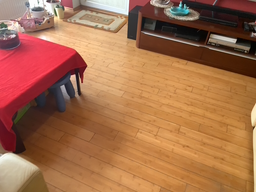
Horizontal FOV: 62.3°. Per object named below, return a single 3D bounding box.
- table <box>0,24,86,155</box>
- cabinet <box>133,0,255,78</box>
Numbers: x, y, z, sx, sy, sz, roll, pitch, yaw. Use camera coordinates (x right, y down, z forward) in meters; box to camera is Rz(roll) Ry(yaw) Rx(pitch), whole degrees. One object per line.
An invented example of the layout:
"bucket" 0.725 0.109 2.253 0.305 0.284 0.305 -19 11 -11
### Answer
"table" -0.940 -0.130 1.730 0.820 0.440 0.840 20 44 16
"cabinet" 0.960 -0.750 2.610 1.640 0.440 0.650 18 43 14
